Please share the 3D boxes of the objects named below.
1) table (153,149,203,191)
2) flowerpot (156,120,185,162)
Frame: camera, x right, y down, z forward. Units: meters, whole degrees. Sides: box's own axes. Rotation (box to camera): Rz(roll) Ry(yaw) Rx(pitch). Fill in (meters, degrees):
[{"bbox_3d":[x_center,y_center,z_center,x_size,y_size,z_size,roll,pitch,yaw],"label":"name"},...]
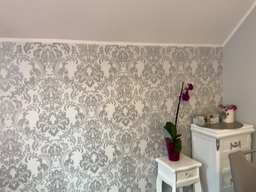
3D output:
[{"bbox_3d":[0.410,0.890,1.760,0.300,0.800,0.260,-4,5,-23],"label":"table"},{"bbox_3d":[0.360,0.370,1.780,0.200,0.300,0.130,-4,6,-28],"label":"flowerpot"}]
